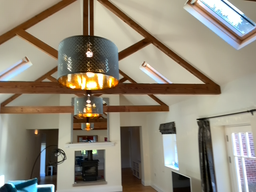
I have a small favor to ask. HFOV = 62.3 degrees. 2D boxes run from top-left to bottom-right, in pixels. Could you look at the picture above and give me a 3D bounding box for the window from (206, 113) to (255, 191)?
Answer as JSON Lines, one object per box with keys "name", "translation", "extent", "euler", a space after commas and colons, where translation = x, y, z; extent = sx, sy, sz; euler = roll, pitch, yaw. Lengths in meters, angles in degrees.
{"name": "window", "translation": [1.800, 1.380, 3.440], "extent": [0.280, 2.080, 1.180], "euler": [0, -11, -9]}
